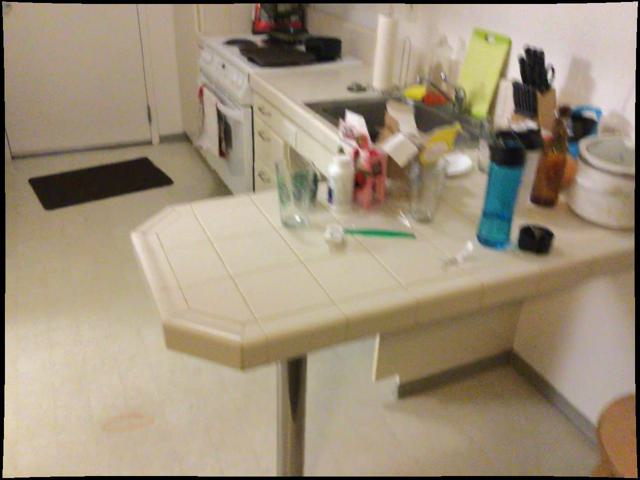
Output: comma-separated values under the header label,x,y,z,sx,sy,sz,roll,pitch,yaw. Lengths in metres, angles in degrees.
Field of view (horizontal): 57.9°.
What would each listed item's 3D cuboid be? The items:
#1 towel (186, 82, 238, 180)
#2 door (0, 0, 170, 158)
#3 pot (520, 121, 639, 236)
label,x,y,z,sx,sy,sz,roll,pitch,yaw
towel,-0.549,-0.561,2.930,0.130,0.360,0.430,-11,33,-23
door,-1.518,-1.532,3.330,1.119,2.092,0.120,-11,33,-23
pot,0.739,-0.170,1.490,0.290,0.170,0.270,-11,33,-23
